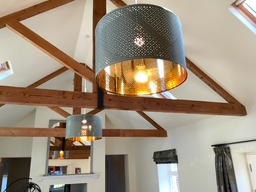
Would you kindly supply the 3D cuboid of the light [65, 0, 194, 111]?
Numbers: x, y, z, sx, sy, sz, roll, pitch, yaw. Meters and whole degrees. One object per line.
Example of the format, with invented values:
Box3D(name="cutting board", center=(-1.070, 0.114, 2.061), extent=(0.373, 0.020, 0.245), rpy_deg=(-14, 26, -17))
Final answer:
Box3D(name="light", center=(0.010, -1.030, 1.840), extent=(0.680, 2.130, 0.860), rpy_deg=(-4, -18, 6))
